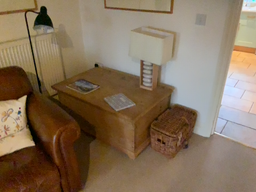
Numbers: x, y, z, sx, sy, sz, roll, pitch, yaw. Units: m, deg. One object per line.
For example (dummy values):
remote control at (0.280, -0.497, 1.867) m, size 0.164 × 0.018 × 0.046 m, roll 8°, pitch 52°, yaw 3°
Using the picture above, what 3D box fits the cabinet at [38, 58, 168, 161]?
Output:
cabinet at (-0.320, 0.030, 2.430) m, size 1.330 × 0.480 × 0.720 m, roll 24°, pitch 37°, yaw 37°

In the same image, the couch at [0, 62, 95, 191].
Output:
couch at (-1.010, 0.390, 1.500) m, size 1.060 × 0.770 × 1.110 m, roll -22°, pitch 35°, yaw -34°
